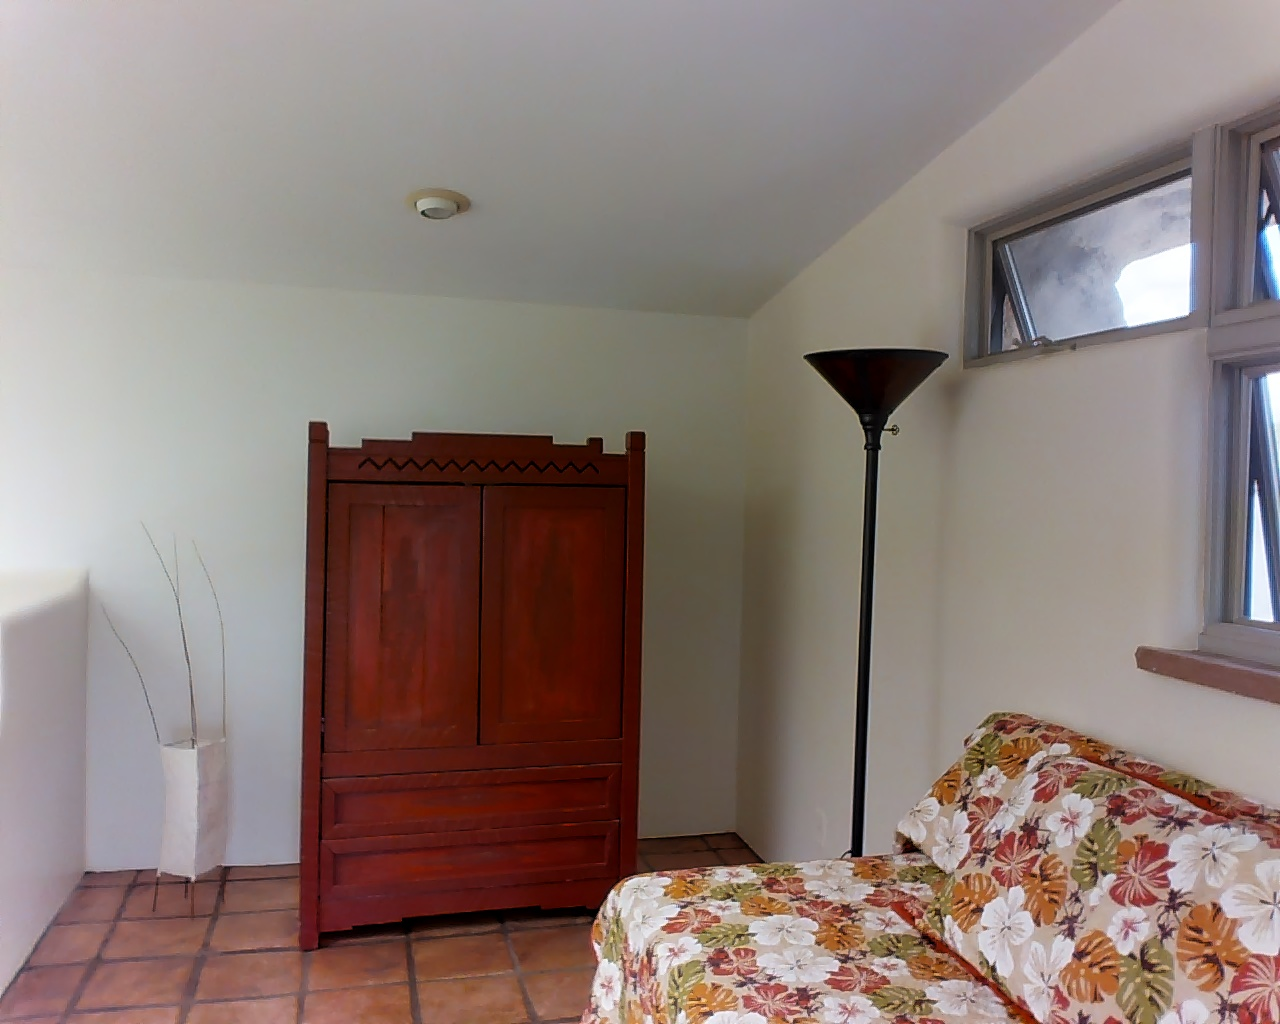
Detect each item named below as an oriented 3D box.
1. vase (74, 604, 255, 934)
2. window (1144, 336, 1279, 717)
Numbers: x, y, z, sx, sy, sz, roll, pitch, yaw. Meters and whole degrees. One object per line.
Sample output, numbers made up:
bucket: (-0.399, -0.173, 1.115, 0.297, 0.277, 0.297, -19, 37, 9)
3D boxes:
vase: (-1.599, 0.830, 3.670, 0.470, 0.970, 0.550, 1, 1, -14)
window: (1.240, 0.030, 1.690, 0.170, 0.660, 1.030, 1, 1, -14)
